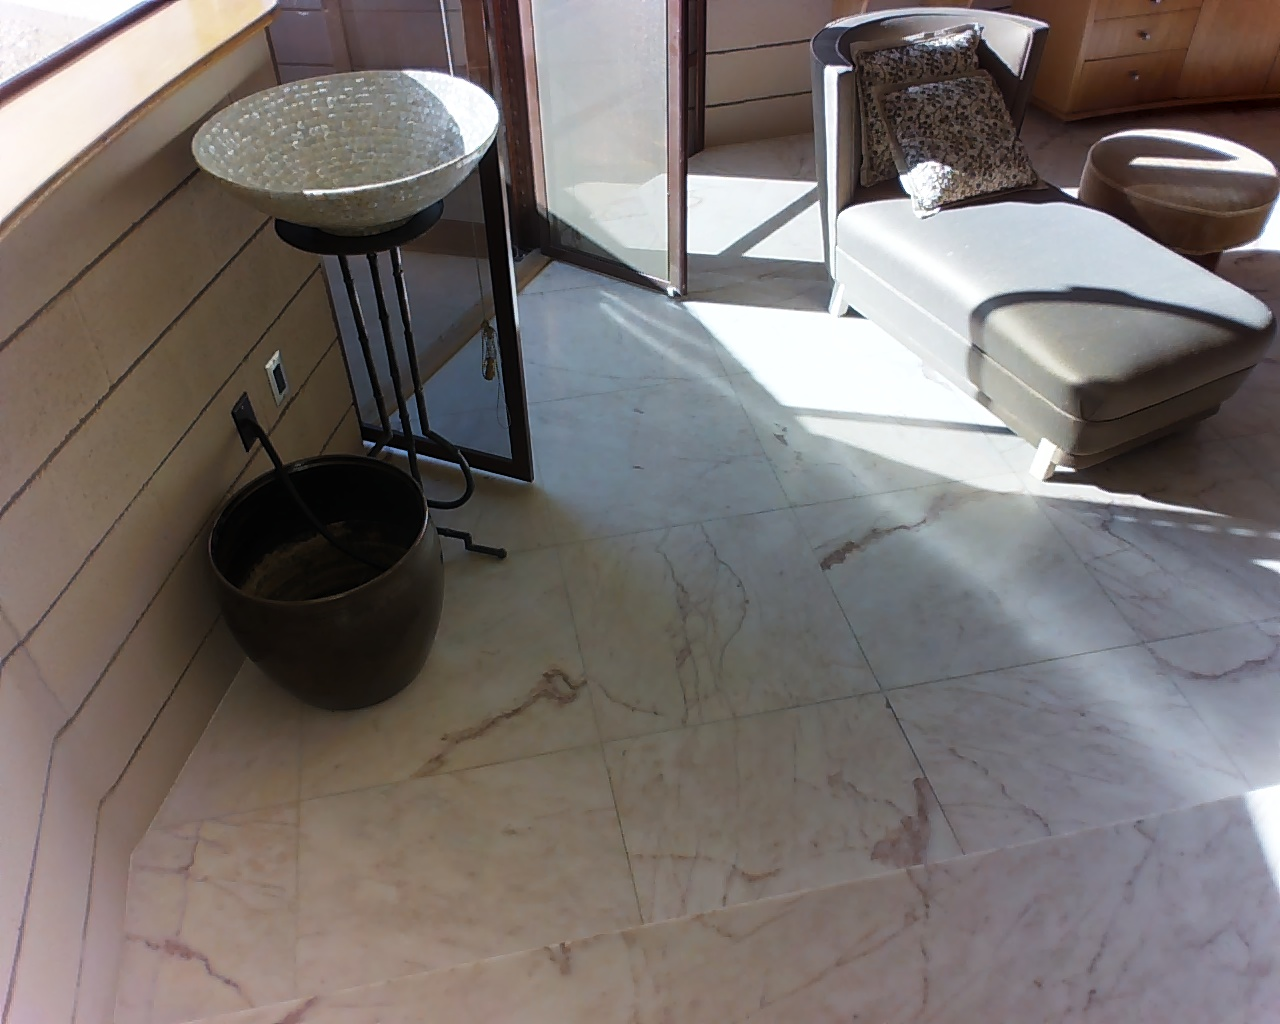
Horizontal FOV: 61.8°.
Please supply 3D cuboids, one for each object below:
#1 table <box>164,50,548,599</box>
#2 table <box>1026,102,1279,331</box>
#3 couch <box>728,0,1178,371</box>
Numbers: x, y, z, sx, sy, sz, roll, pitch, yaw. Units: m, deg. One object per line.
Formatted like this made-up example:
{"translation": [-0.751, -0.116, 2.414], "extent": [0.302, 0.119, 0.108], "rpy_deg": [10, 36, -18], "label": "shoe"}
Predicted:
{"translation": [-0.540, -0.380, 2.370], "extent": [0.470, 1.060, 0.500], "rpy_deg": [6, 43, 9], "label": "table"}
{"translation": [1.730, -0.950, 3.390], "extent": [0.700, 0.400, 0.570], "rpy_deg": [-12, 43, -11], "label": "table"}
{"translation": [0.880, -1.110, 3.290], "extent": [0.890, 0.830, 0.820], "rpy_deg": [-22, 45, -21], "label": "couch"}
